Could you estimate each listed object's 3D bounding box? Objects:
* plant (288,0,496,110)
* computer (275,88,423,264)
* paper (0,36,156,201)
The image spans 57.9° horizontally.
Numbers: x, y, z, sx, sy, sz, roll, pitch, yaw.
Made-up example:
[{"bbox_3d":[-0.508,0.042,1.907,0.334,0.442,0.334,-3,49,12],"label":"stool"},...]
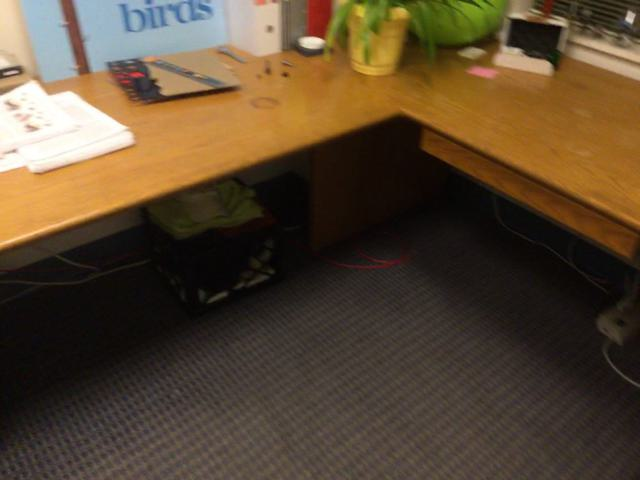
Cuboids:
[{"bbox_3d":[0.200,-0.680,1.560,0.430,0.460,0.370,-26,45,-34],"label":"plant"},{"bbox_3d":[0.100,-0.250,2.170,0.510,0.480,0.220,-26,45,-34],"label":"computer"},{"bbox_3d":[-0.820,-0.260,1.280,0.680,0.120,0.570,-26,45,-34],"label":"paper"}]
